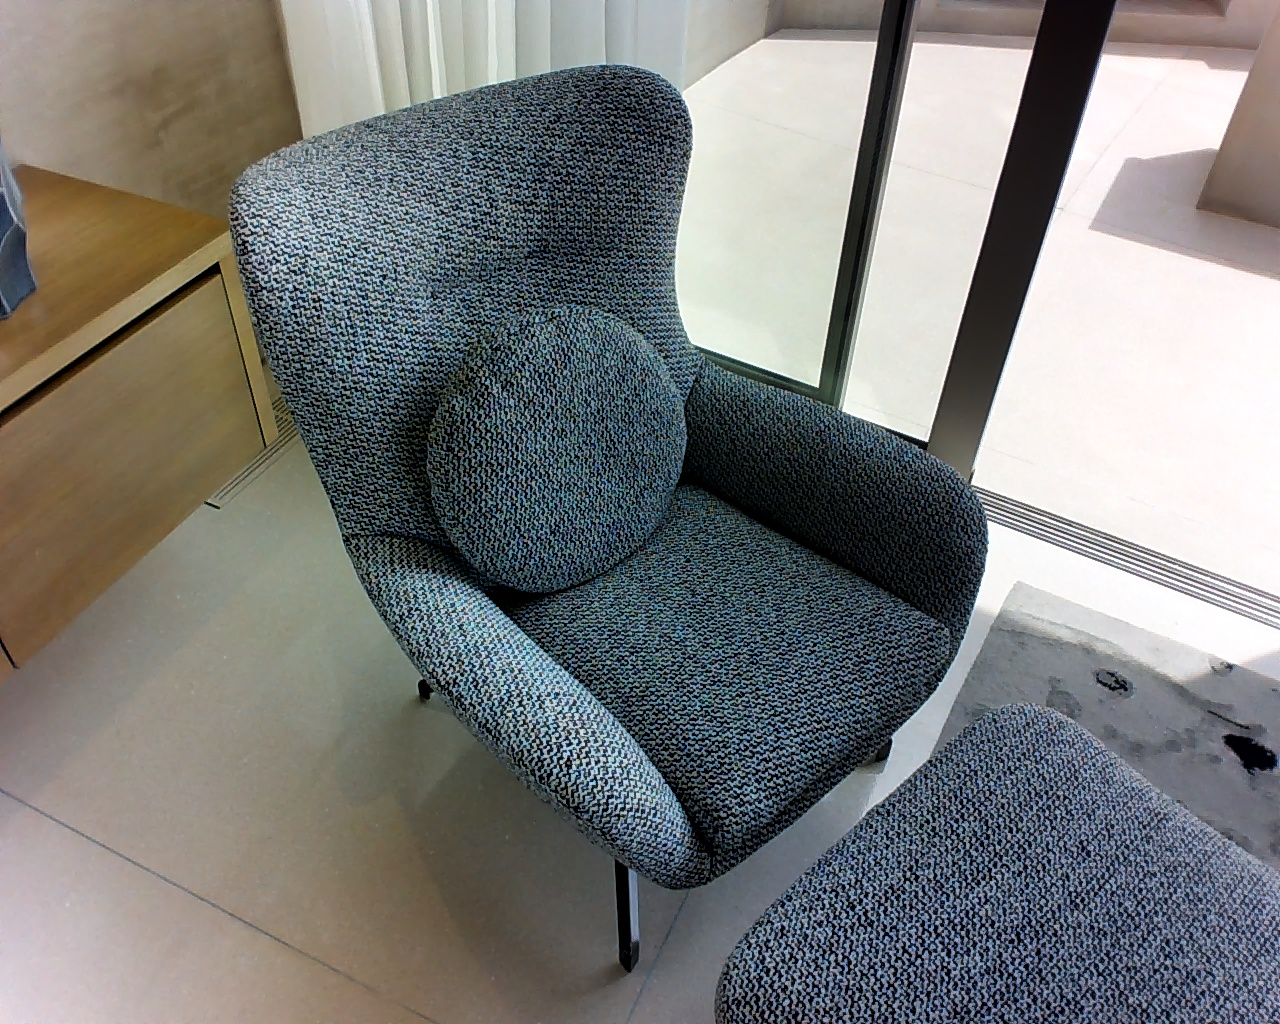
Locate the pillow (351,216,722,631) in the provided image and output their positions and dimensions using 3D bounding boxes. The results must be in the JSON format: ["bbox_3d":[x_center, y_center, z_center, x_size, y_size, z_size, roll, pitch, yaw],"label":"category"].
[{"bbox_3d":[-0.120,-0.110,1.600,0.170,0.420,0.460,38,79,25],"label":"pillow"}]

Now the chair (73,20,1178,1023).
[{"bbox_3d":[-0.050,-0.030,1.620,0.910,0.920,1.000,-30,52,-31],"label":"chair"}]
